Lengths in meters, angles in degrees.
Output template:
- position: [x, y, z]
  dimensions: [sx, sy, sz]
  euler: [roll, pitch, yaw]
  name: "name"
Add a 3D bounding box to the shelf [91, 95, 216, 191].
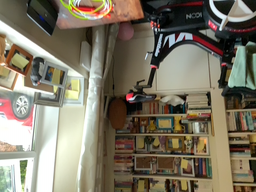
- position: [0.270, 0.770, 2.610]
  dimensions: [1.440, 1.510, 0.190]
  euler: [-2, 167, 13]
  name: "shelf"
